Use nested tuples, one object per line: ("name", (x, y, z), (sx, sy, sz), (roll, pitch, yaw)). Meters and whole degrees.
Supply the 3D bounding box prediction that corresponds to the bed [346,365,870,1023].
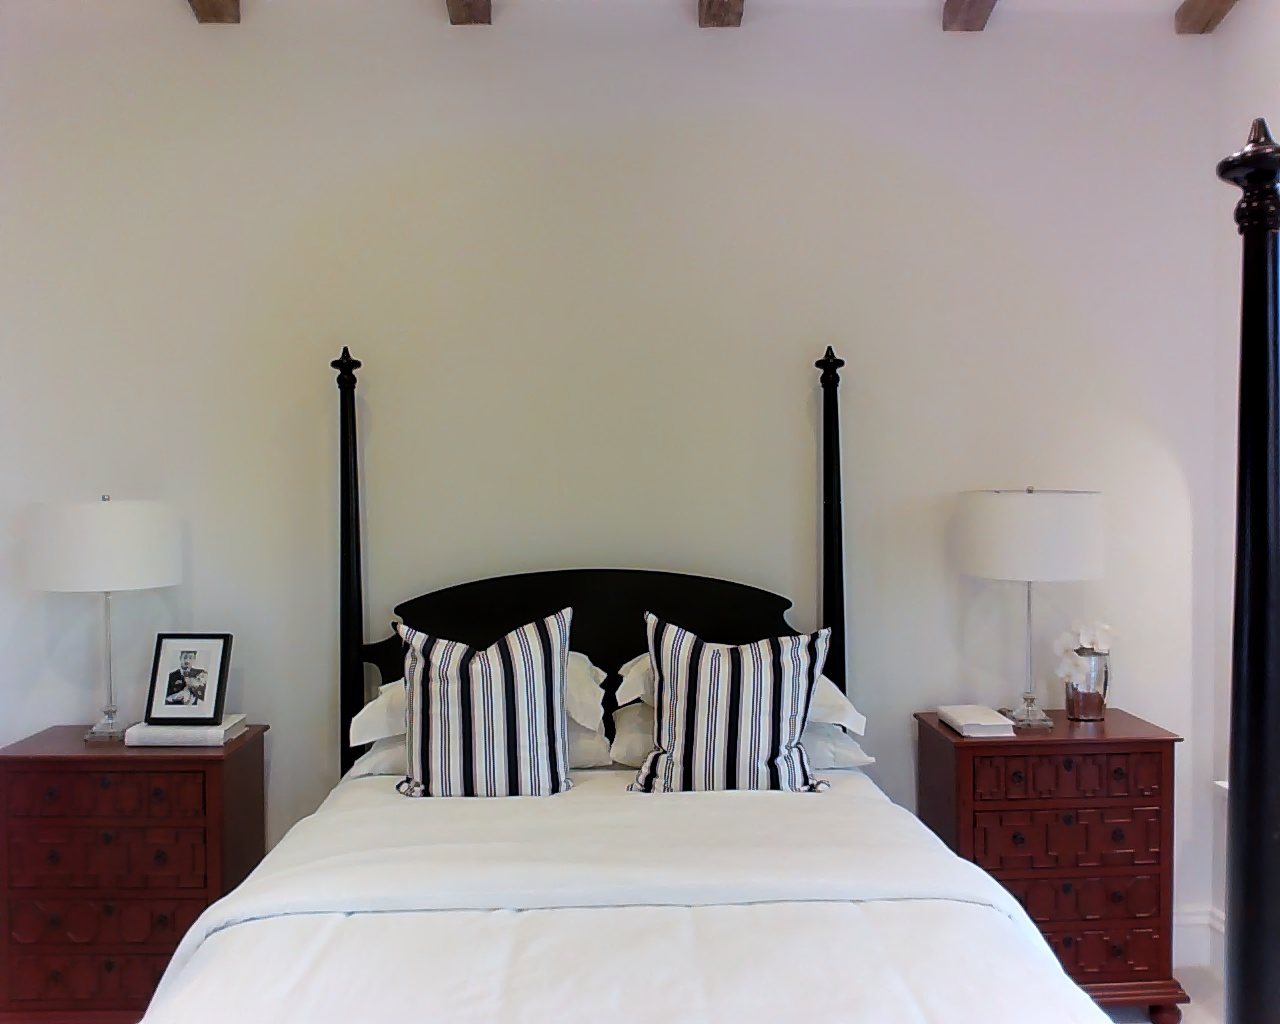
("bed", (-0.100, 0.580, 3.530), (1.649, 2.081, 0.130), (-1, 0, -2))
